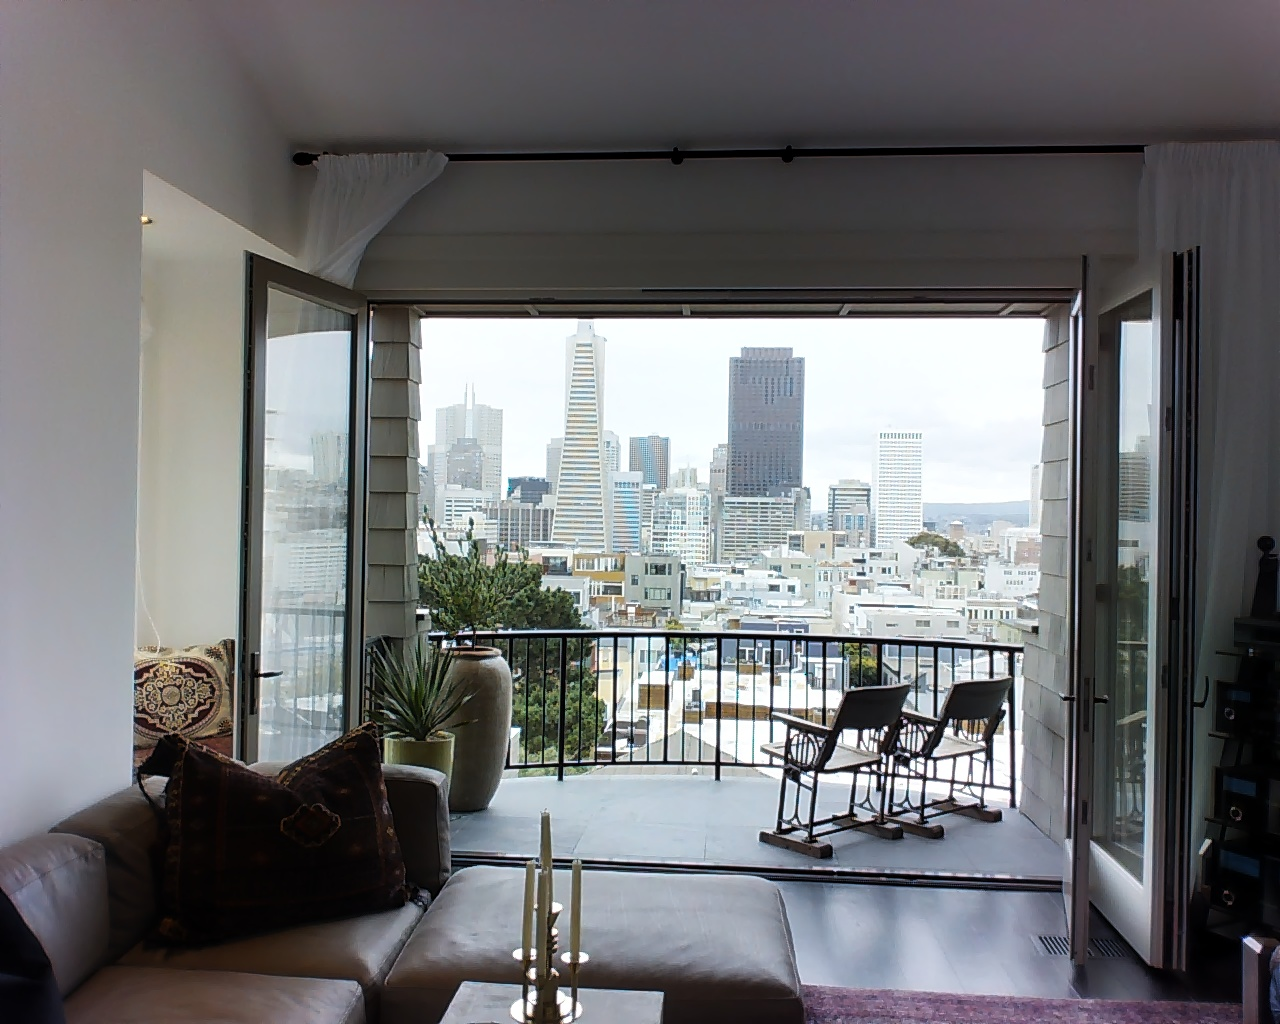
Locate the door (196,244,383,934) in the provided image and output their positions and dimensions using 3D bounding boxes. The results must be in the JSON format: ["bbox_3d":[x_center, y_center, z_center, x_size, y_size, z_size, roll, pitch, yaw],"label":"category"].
[{"bbox_3d":[-1.380,0.280,4.330,0.230,2.500,0.850,1,0,18],"label":"door"}]

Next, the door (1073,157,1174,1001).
[{"bbox_3d":[1.770,0.220,3.980,0.260,2.760,0.900,1,0,21],"label":"door"}]

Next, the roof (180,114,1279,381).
[{"bbox_3d":[0.350,-1.050,4.890,3.930,0.630,2.170,1,0,5],"label":"roof"}]
